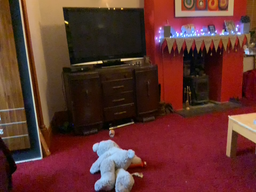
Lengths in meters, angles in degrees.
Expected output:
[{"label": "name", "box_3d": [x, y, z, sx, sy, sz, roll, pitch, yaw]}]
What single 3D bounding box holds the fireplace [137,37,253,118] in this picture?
[{"label": "fireplace", "box_3d": [1.240, -0.440, 4.060, 1.960, 1.250, 0.800, -7, 15, -19]}]
